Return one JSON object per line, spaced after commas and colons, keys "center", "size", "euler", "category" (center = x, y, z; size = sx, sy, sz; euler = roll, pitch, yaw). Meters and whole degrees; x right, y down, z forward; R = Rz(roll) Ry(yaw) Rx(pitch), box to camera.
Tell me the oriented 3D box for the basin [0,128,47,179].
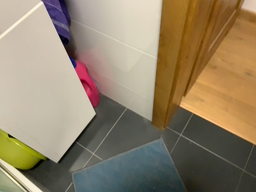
{"center": [-0.560, 0.250, 0.990], "size": [0.240, 0.300, 0.110], "euler": [27, 66, 17], "category": "basin"}
